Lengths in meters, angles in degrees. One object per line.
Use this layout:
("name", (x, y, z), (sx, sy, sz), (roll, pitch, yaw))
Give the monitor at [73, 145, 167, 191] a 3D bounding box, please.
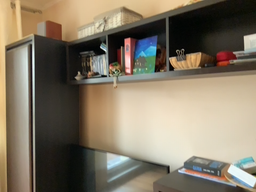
("monitor", (-0.110, 0.700, 1.520), (0.870, 0.570, 0.040), (0, 1, 40))
